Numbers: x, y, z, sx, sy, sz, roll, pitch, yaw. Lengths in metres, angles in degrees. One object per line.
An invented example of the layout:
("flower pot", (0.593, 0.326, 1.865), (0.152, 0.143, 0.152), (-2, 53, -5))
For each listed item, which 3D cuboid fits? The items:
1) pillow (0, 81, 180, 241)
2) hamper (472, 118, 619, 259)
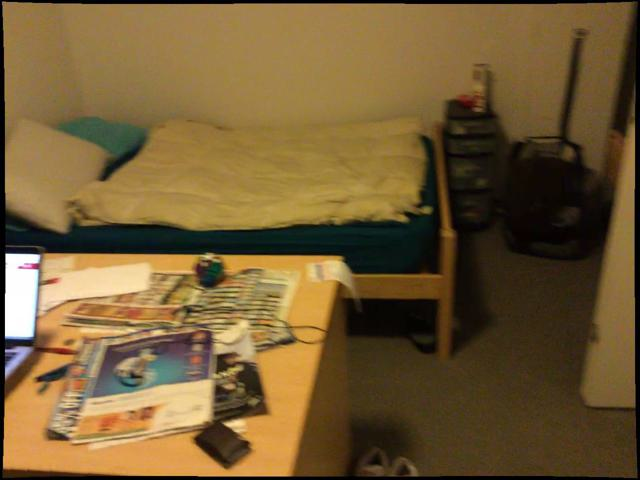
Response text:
("pillow", (-1.229, -0.460, 2.850), (0.579, 0.300, 1.400), (0, 28, 8))
("hamper", (1.109, -0.280, 2.980), (0.539, 0.510, 0.620), (0, 28, 8))
